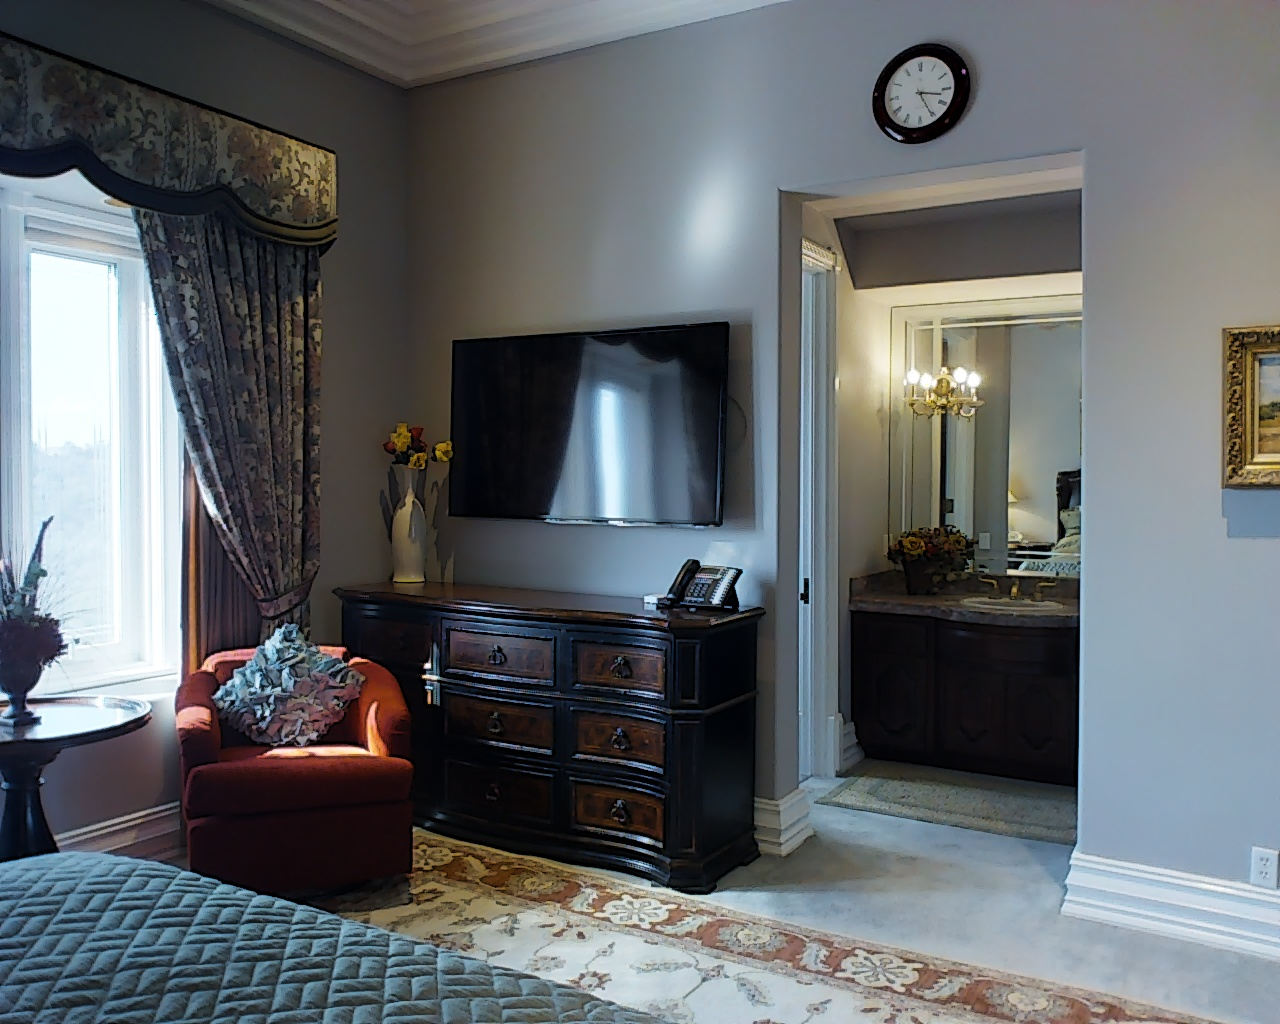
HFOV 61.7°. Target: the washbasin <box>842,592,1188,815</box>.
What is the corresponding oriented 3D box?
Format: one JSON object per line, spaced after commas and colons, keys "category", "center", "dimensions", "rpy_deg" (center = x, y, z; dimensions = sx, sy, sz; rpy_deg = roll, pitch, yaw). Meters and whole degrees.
{"category": "washbasin", "center": [1.860, 0.880, 5.340], "dimensions": [1.480, 0.810, 0.800], "rpy_deg": [1, 2, 31]}
